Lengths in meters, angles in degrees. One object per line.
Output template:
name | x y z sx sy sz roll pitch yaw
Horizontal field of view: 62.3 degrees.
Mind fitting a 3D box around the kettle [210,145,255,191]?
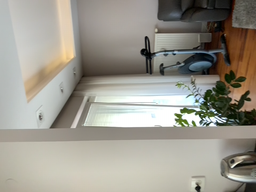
kettle | 0.630 0.420 1.190 0.170 0.240 0.230 -93 3 -68
